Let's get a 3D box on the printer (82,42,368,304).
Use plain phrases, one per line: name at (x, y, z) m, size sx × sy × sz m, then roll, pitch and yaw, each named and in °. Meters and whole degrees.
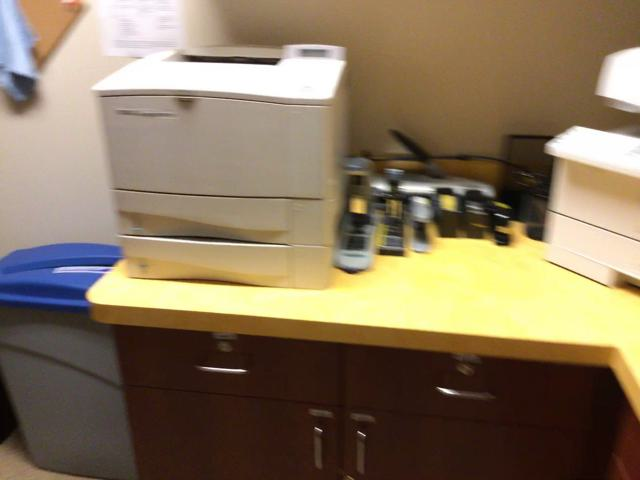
printer at (-0.150, -0.150, 1.110) m, size 0.430 × 0.400 × 0.310 m, roll 6°, pitch 23°, yaw 8°
